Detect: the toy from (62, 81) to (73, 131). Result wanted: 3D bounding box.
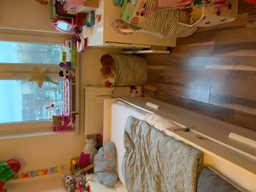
[{"bbox_3d":[-0.750,0.120,2.620,0.210,0.080,0.570,28,117,60],"label":"toy"}]

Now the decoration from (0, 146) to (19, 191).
[{"bbox_3d":[-1.430,0.810,2.160,0.280,0.550,0.430,24,113,61],"label":"decoration"}]
